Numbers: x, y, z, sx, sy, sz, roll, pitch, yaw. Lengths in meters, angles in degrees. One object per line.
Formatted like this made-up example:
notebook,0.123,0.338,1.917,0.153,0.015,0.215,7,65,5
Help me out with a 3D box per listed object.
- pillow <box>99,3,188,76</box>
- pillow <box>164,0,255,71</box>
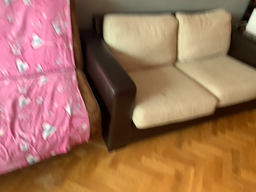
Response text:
pillow,0.100,-0.470,1.800,0.630,0.440,0.240,-20,73,-17
pillow,0.770,-0.600,2.070,0.710,0.500,0.250,-23,65,-21
